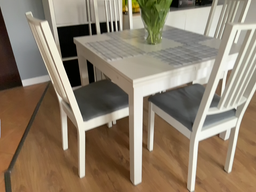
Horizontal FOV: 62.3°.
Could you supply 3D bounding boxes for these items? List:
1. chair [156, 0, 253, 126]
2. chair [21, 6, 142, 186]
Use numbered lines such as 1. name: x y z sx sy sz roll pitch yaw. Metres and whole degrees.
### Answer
1. chair: 0.610 -0.310 1.880 0.520 0.980 0.410 -15 33 -23
2. chair: -0.250 -0.010 1.370 0.520 0.980 0.410 -18 34 -27
